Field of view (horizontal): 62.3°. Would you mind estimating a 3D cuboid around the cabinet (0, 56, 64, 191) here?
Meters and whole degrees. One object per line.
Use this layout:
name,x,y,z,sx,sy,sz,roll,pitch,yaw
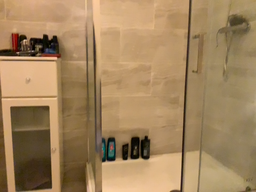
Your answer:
cabinet,-0.710,0.260,1.620,0.360,1.100,0.350,-2,10,-13
